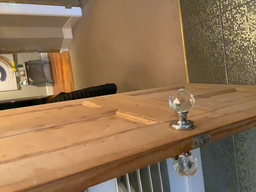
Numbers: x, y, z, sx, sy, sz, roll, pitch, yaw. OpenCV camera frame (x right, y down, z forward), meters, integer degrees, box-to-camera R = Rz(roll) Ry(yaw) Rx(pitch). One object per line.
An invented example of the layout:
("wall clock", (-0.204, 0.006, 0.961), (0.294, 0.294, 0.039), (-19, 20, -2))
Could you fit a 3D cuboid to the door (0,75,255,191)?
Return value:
("door", (-0.120, 0.070, 0.780), (0.760, 2.040, 0.100), (-5, 94, 60))
